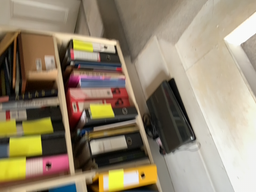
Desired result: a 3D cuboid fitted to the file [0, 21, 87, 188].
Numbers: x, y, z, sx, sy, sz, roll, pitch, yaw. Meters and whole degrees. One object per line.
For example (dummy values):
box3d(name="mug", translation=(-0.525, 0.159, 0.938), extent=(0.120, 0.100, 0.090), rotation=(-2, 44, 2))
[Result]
box3d(name="file", translation=(-0.500, 0.010, 1.090), extent=(0.230, 0.390, 0.780), rotation=(-47, 52, 50))

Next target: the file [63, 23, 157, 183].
box3d(name="file", translation=(-0.150, 0.000, 1.290), extent=(0.220, 0.320, 0.910), rotation=(-47, 52, 50))
